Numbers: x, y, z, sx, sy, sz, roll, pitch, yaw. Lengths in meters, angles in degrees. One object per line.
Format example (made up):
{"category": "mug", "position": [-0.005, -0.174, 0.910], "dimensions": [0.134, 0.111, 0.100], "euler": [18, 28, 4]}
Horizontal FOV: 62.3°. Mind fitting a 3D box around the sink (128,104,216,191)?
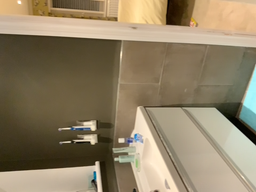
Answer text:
{"category": "sink", "position": [0.220, 0.500, 1.290], "dimensions": [1.010, 0.180, 0.460], "euler": [-115, 28, -60]}
